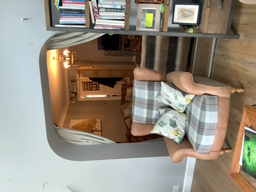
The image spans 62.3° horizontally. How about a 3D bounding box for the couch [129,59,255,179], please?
[{"bbox_3d":[0.580,0.170,2.440,0.940,0.950,1.020,-116,27,-68],"label":"couch"}]
